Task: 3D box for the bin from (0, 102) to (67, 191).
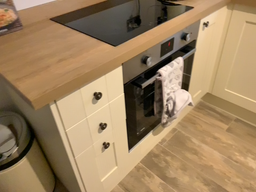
[{"bbox_3d":[-0.630,0.380,1.210,0.340,0.520,0.300,30,50,33],"label":"bin"}]
